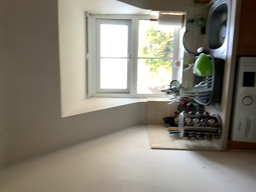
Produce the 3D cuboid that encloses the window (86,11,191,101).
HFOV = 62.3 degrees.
[{"bbox_3d":[0.090,-0.420,2.280,0.120,1.060,0.900,-81,-7,-80],"label":"window"}]
